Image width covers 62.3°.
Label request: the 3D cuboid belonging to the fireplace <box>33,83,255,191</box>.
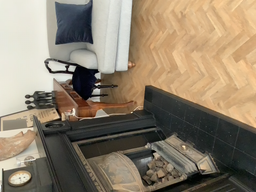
[{"bbox_3d":[0.040,0.400,1.510,1.440,1.140,0.640,29,118,56],"label":"fireplace"}]
